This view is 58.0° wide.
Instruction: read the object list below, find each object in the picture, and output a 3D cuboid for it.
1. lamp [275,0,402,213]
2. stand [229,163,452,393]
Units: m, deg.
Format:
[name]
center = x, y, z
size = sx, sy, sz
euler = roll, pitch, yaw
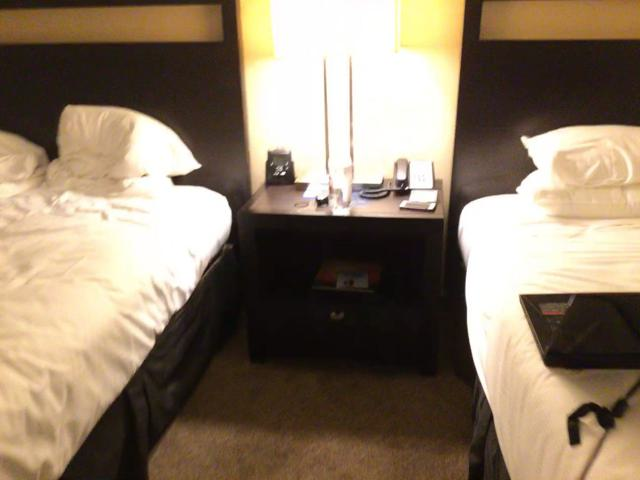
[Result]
[lamp]
center = 0.080, -0.570, 2.270
size = 0.430, 0.840, 0.350
euler = 4, 20, 8
[stand]
center = 0.090, 0.120, 2.330
size = 0.770, 0.710, 0.510
euler = 5, 20, 8
